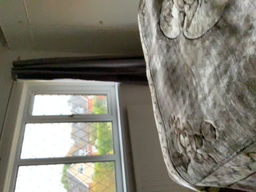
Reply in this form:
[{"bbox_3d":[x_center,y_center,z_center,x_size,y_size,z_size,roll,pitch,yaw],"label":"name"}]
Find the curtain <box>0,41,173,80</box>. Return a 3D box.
[{"bbox_3d":[-0.460,-0.440,2.750,0.260,2.050,0.380,106,160,-57],"label":"curtain"}]
